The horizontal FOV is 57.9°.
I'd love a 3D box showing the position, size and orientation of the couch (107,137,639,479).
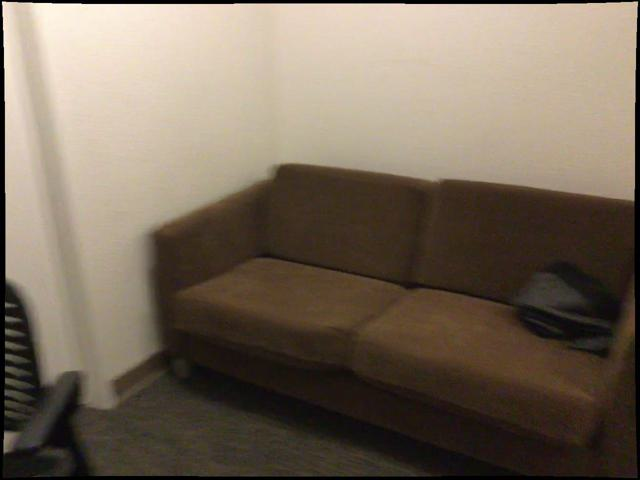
[{"bbox_3d":[0.270,0.140,2.050,1.759,0.651,0.960,12,28,31],"label":"couch"}]
